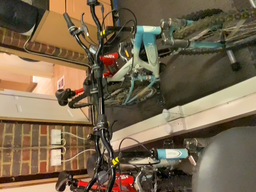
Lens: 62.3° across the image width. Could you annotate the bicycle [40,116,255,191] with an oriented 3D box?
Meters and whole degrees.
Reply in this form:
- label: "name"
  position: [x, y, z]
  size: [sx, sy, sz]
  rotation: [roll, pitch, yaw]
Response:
- label: "bicycle"
  position: [0.070, 0.590, 1.410]
  size: [1.750, 0.740, 0.420]
  rotation: [-29, 61, 46]
